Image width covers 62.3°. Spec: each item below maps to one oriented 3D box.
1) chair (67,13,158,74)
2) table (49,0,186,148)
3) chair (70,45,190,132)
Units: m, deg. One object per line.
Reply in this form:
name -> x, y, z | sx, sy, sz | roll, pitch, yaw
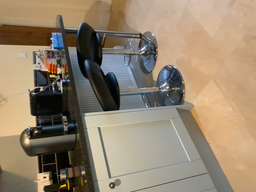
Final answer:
chair -> -0.170, -0.480, 2.140 | 0.440, 0.780, 0.420 | 156, 110, -66
table -> -0.230, -0.290, 2.110 | 0.600, 0.930, 1.320 | 114, 144, -47
chair -> -0.020, -0.070, 1.800 | 0.450, 0.820, 0.500 | 116, 144, -48
